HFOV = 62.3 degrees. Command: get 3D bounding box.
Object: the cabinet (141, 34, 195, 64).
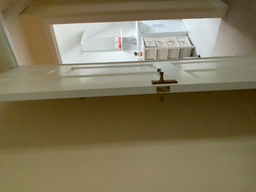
[{"bbox_3d":[0.650,-0.810,3.610,0.440,0.820,0.360,-94,2,-61],"label":"cabinet"}]
